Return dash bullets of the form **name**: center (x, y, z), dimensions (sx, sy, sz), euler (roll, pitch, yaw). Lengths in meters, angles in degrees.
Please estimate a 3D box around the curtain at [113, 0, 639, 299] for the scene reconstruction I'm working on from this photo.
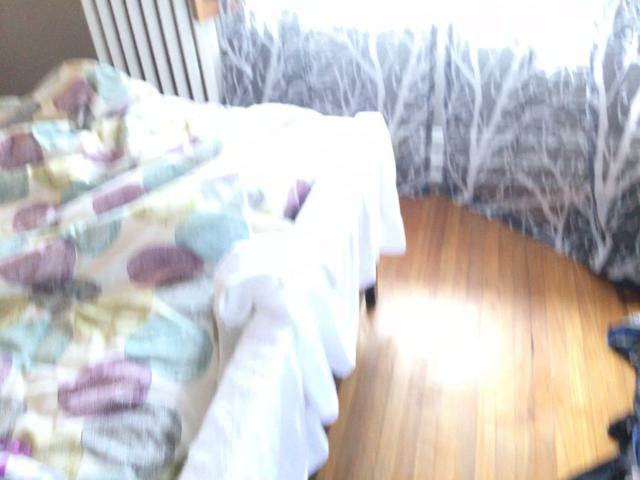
- **curtain**: center (0.380, -0.910, 1.690), dimensions (1.860, 2.070, 0.740), euler (5, 38, 14)
